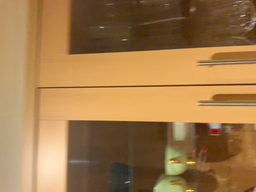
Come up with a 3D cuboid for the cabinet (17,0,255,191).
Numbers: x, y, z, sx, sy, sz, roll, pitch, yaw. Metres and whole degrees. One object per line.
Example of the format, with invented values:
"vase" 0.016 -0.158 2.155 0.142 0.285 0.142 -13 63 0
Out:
"cabinet" 0.170 -0.200 0.670 0.400 0.800 1.420 26 -116 -77
